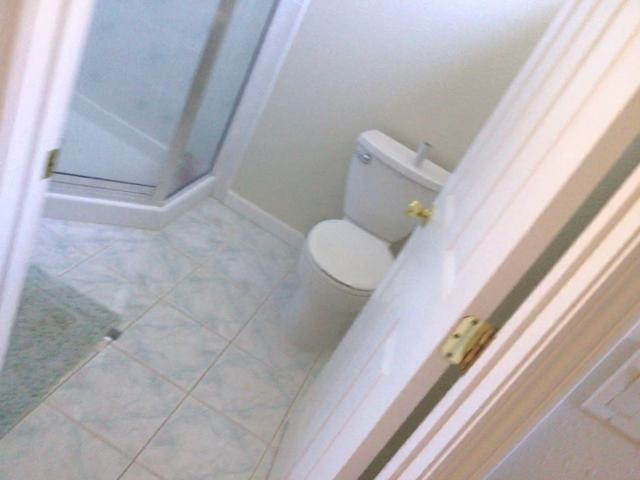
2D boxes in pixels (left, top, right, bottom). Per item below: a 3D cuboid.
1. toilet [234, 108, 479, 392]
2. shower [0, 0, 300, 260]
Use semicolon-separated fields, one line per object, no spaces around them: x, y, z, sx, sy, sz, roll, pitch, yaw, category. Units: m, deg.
0.170;0.000;2.300;0.480;0.810;0.720;33;27;5;toilet
-0.680;-1.060;2.040;0.990;2.010;0.900;13;32;-31;shower
